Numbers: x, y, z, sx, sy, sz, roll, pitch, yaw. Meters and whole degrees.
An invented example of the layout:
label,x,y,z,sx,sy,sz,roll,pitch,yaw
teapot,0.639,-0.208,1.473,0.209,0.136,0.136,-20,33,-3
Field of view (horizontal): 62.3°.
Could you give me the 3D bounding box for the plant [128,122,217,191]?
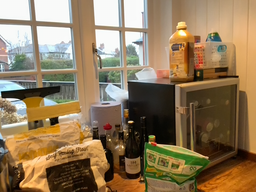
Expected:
label,x,y,z,sx,sy,sz,roll,pitch,yaw
plant,0.200,0.290,0.980,0.280,0.240,0.280,-9,11,-36
